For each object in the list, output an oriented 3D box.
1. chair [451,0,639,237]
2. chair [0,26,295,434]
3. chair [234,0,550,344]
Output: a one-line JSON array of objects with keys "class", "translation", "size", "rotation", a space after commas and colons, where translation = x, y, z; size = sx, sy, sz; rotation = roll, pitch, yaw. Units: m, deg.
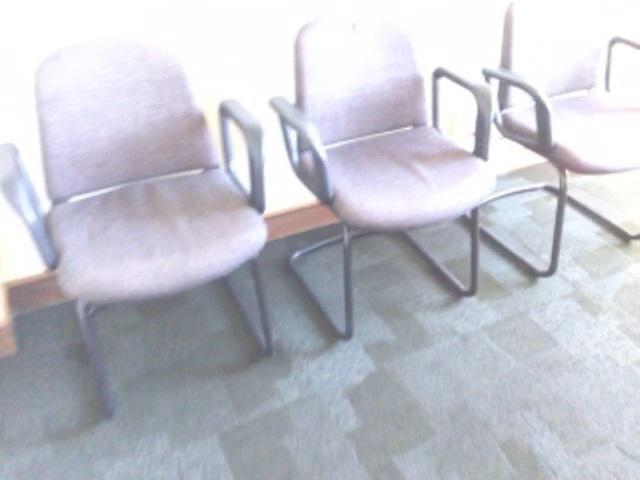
[{"class": "chair", "translation": [0.850, -0.480, 1.870], "size": [0.590, 0.600, 0.560], "rotation": [-18, 36, -17]}, {"class": "chair", "translation": [-0.460, -0.050, 1.540], "size": [0.540, 0.800, 0.560], "rotation": [-18, 36, -17]}, {"class": "chair", "translation": [0.180, -0.250, 1.740], "size": [0.610, 0.740, 0.610], "rotation": [-18, 36, -17]}]
